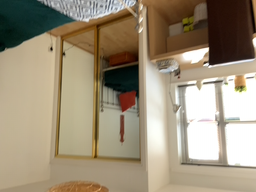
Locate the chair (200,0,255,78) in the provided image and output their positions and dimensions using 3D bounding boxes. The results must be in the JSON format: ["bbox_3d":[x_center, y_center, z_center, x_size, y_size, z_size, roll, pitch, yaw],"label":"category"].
[{"bbox_3d":[1.090,-0.780,2.290,0.420,1.000,0.660,-7,169,33],"label":"chair"}]
